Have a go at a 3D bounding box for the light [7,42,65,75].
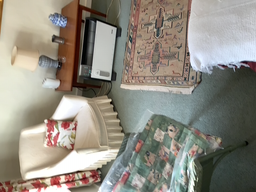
[{"bbox_3d":[-1.070,-0.420,2.500,0.240,0.560,0.270,3,88,50],"label":"light"}]
